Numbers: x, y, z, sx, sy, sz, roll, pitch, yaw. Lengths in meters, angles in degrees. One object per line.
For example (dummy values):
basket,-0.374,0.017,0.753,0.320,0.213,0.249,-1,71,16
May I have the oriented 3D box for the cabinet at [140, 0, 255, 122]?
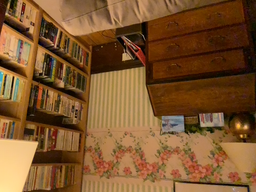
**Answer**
cabinet,0.560,-0.310,1.780,0.790,0.960,0.480,-5,163,23
